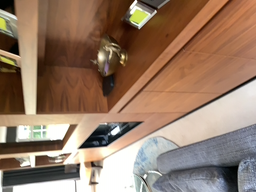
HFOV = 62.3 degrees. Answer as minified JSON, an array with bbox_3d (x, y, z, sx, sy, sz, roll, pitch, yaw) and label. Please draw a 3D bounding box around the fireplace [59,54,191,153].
[{"bbox_3d":[-0.270,0.280,3.010,2.010,1.140,0.640,135,131,-57],"label":"fireplace"}]
